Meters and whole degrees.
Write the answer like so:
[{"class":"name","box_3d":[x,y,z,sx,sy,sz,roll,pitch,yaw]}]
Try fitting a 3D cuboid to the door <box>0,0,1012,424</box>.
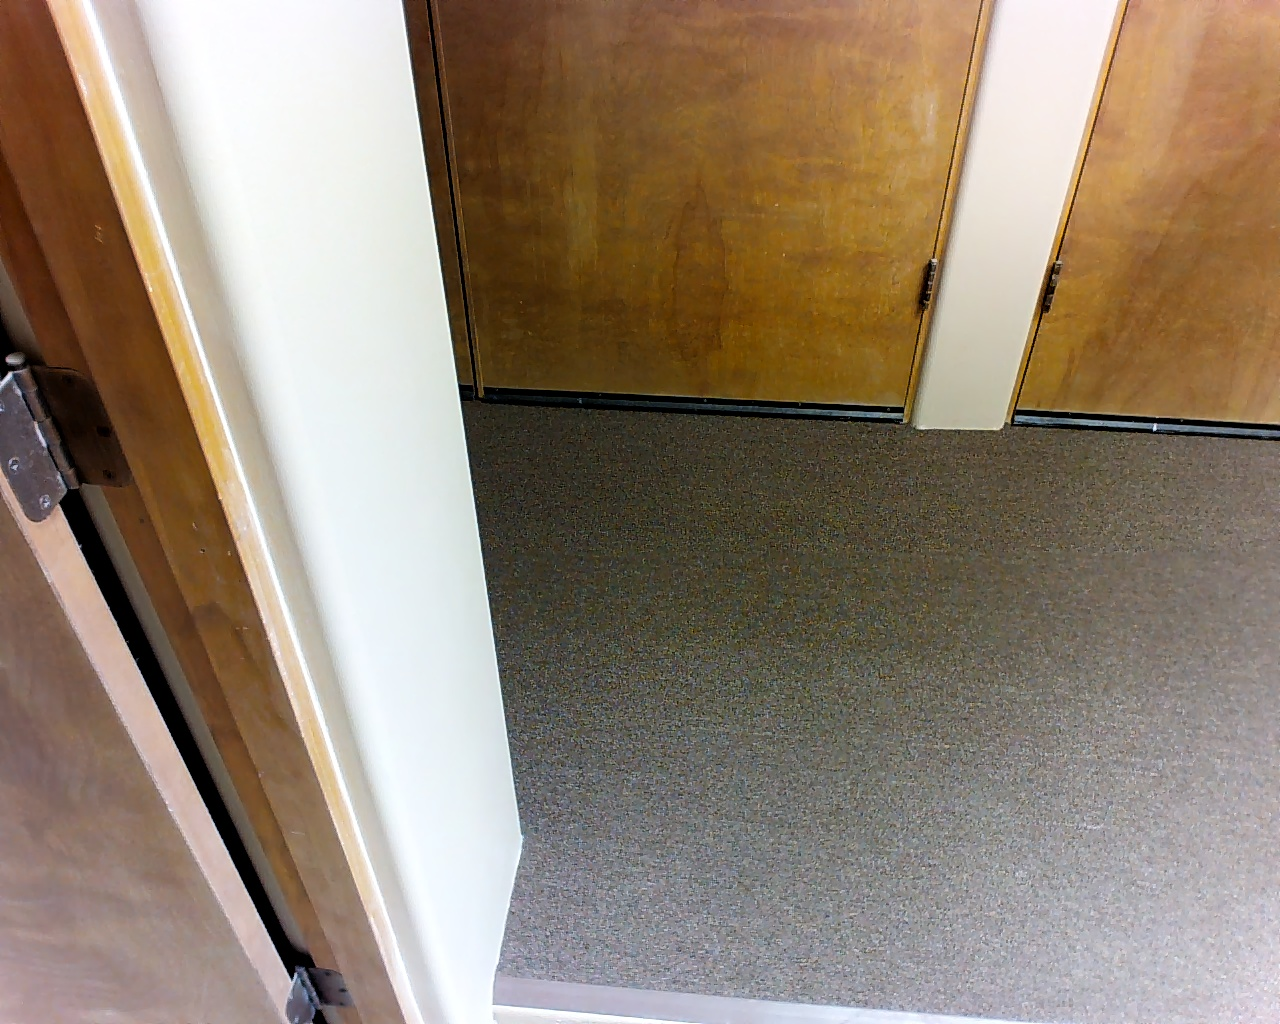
[{"class":"door","box_3d":[-0.320,-1.010,1.670,1.830,2.020,0.050,3,41,4]}]
